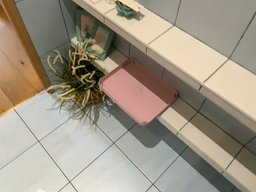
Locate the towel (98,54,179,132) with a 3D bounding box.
[{"bbox_3d":[0.050,-0.030,1.160,0.270,0.120,0.340,-34,64,-22],"label":"towel"}]
